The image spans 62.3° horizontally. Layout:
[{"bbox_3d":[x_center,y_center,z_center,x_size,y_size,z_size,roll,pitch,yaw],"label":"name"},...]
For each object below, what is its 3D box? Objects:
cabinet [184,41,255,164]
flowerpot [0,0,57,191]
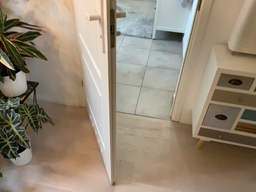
[{"bbox_3d":[0.940,0.100,1.570,0.850,0.830,0.350,8,41,5],"label":"cabinet"},{"bbox_3d":[-0.990,0.020,1.550,0.650,1.130,0.820,-11,43,-17],"label":"flowerpot"}]
